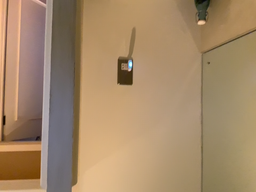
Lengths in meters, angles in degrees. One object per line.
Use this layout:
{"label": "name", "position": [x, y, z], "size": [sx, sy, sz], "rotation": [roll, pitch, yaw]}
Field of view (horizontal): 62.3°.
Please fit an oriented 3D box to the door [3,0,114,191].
{"label": "door", "position": [-0.240, -0.510, 0.780], "size": [0.140, 2.100, 0.980], "rotation": [2, 178, -19]}
